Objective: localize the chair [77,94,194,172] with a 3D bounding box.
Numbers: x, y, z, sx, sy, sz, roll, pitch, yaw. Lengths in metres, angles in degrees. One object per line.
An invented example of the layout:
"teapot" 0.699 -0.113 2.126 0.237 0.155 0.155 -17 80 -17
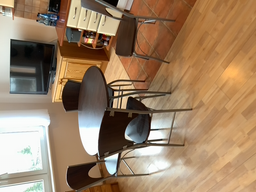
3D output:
"chair" 0.060 0.280 1.920 0.470 0.880 0.470 29 114 57

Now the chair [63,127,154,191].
"chair" -0.230 0.700 2.420 0.400 0.880 0.500 41 123 53

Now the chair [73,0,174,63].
"chair" -0.050 -0.650 2.160 0.410 0.880 0.490 28 113 58

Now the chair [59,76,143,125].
"chair" -0.350 0.040 2.650 0.510 0.870 0.410 35 119 56
